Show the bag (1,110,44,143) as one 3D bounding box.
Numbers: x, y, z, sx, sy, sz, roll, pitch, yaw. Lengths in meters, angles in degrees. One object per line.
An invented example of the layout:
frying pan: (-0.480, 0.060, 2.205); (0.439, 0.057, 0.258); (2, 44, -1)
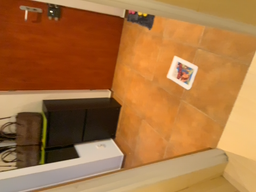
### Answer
bag: (-1.210, 0.340, 2.430); (0.160, 0.420, 0.290); (40, 124, 50)
